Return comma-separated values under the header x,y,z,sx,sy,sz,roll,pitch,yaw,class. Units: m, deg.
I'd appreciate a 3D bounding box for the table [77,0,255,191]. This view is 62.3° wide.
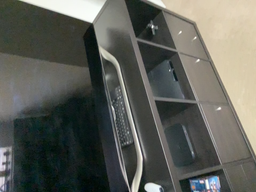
x,y,z,sx,sy,sz,roll,pitch,yaw,class
0.230,0.120,1.320,0.460,0.770,1.450,-38,57,44,table
